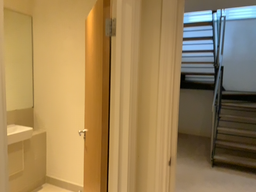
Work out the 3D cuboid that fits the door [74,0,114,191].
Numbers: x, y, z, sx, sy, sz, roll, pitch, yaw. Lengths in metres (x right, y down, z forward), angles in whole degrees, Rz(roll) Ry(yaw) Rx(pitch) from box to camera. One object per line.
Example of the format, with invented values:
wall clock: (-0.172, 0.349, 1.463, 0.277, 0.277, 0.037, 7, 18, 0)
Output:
door: (-0.310, 0.370, 1.640, 0.090, 2.090, 0.870, -1, 7, -22)
